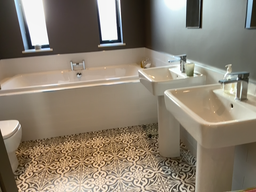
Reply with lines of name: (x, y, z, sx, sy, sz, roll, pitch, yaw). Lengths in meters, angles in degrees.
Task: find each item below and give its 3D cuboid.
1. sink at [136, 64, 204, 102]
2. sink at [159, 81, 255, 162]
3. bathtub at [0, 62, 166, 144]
sink: (0.340, -0.140, 1.900, 0.430, 0.170, 0.530, -7, 19, -9)
sink: (0.470, 0.090, 1.170, 0.440, 0.180, 0.550, -7, 19, -9)
bathtub: (-0.700, 0.000, 2.970, 2.200, 0.640, 1.010, -6, 19, -9)
